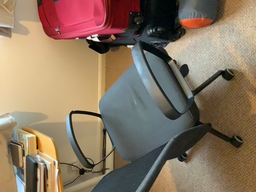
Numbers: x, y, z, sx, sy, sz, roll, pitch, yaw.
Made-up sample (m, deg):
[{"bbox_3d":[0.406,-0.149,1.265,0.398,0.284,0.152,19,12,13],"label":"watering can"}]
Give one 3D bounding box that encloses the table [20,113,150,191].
[{"bbox_3d":[-0.300,0.340,1.550,0.570,0.730,0.270,7,98,45],"label":"table"}]
